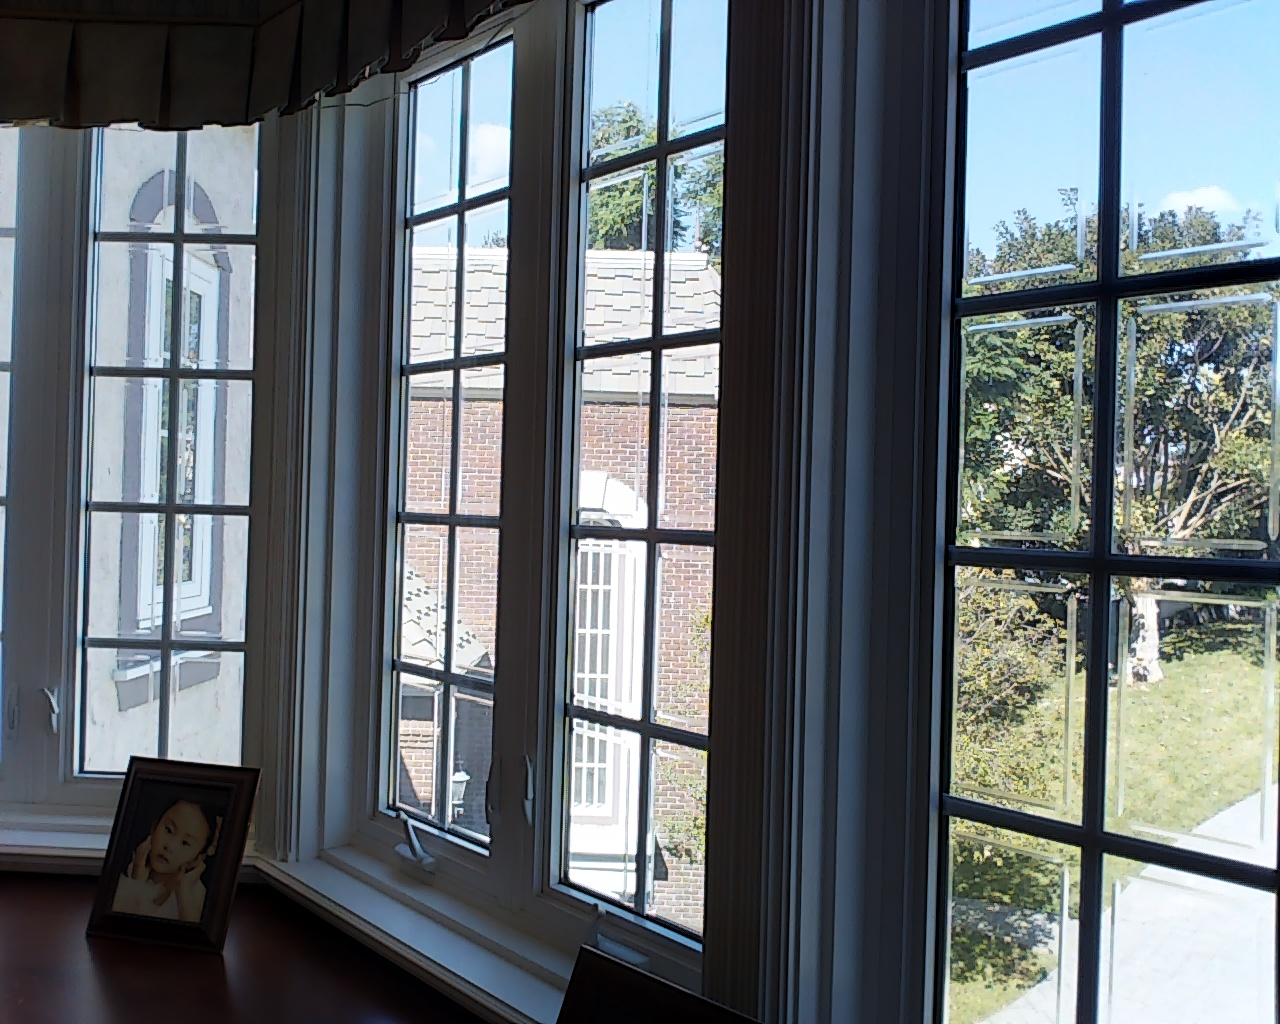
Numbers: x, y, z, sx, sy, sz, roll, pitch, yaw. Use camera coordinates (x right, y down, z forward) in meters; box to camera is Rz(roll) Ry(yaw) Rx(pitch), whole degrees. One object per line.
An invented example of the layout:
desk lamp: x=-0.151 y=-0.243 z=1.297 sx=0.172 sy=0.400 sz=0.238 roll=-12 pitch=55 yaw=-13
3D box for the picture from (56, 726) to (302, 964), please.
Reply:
picture: x=-0.890 y=0.640 z=2.090 sx=0.340 sy=0.370 sz=0.120 roll=12 pitch=-10 yaw=2

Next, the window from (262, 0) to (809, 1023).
window: x=-0.270 y=0.010 z=1.870 sx=0.230 sy=1.690 sz=1.170 roll=2 pitch=0 yaw=-44
